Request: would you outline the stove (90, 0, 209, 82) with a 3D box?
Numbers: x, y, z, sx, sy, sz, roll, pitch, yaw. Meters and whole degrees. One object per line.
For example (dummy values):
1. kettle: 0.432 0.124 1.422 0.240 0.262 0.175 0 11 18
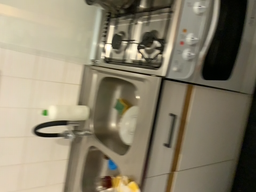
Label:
1. stove: 0.060 -0.370 1.030 0.630 0.140 0.500 19 100 51
